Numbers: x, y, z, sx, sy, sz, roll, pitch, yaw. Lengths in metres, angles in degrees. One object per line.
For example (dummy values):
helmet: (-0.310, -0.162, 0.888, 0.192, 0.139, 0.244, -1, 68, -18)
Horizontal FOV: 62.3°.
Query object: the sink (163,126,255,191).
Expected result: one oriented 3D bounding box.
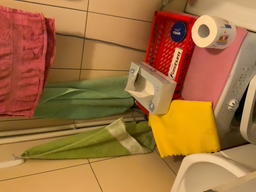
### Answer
sink: (0.320, 0.350, 0.620, 0.420, 0.160, 0.320, 46, 130, 49)
